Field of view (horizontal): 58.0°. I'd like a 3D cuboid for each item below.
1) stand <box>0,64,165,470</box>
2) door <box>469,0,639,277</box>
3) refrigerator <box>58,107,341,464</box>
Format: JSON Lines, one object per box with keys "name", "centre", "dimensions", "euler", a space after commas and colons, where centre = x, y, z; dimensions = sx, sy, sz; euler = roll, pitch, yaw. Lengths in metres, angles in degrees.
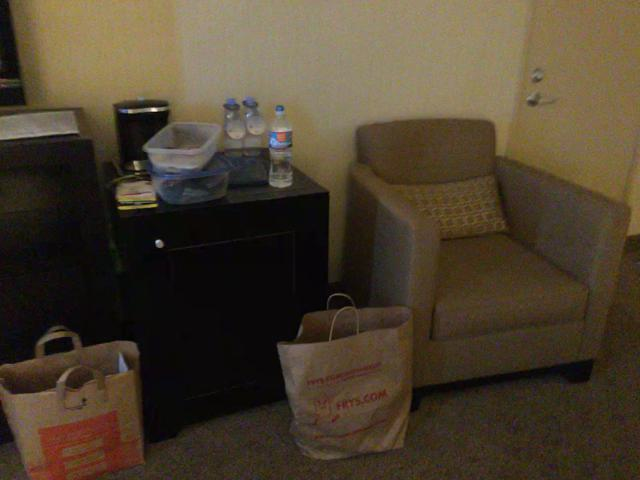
{"name": "stand", "centre": [-1.170, 0.120, 1.630], "dimensions": [1.200, 1.040, 0.520], "euler": [-13, 25, -21]}
{"name": "door", "centre": [1.250, -0.610, 2.780], "dimensions": [1.000, 1.470, 0.180], "euler": [-9, 24, -22]}
{"name": "refrigerator", "centre": [-0.410, 0.080, 1.980], "dimensions": [0.740, 0.920, 0.650], "euler": [-9, 24, -22]}
